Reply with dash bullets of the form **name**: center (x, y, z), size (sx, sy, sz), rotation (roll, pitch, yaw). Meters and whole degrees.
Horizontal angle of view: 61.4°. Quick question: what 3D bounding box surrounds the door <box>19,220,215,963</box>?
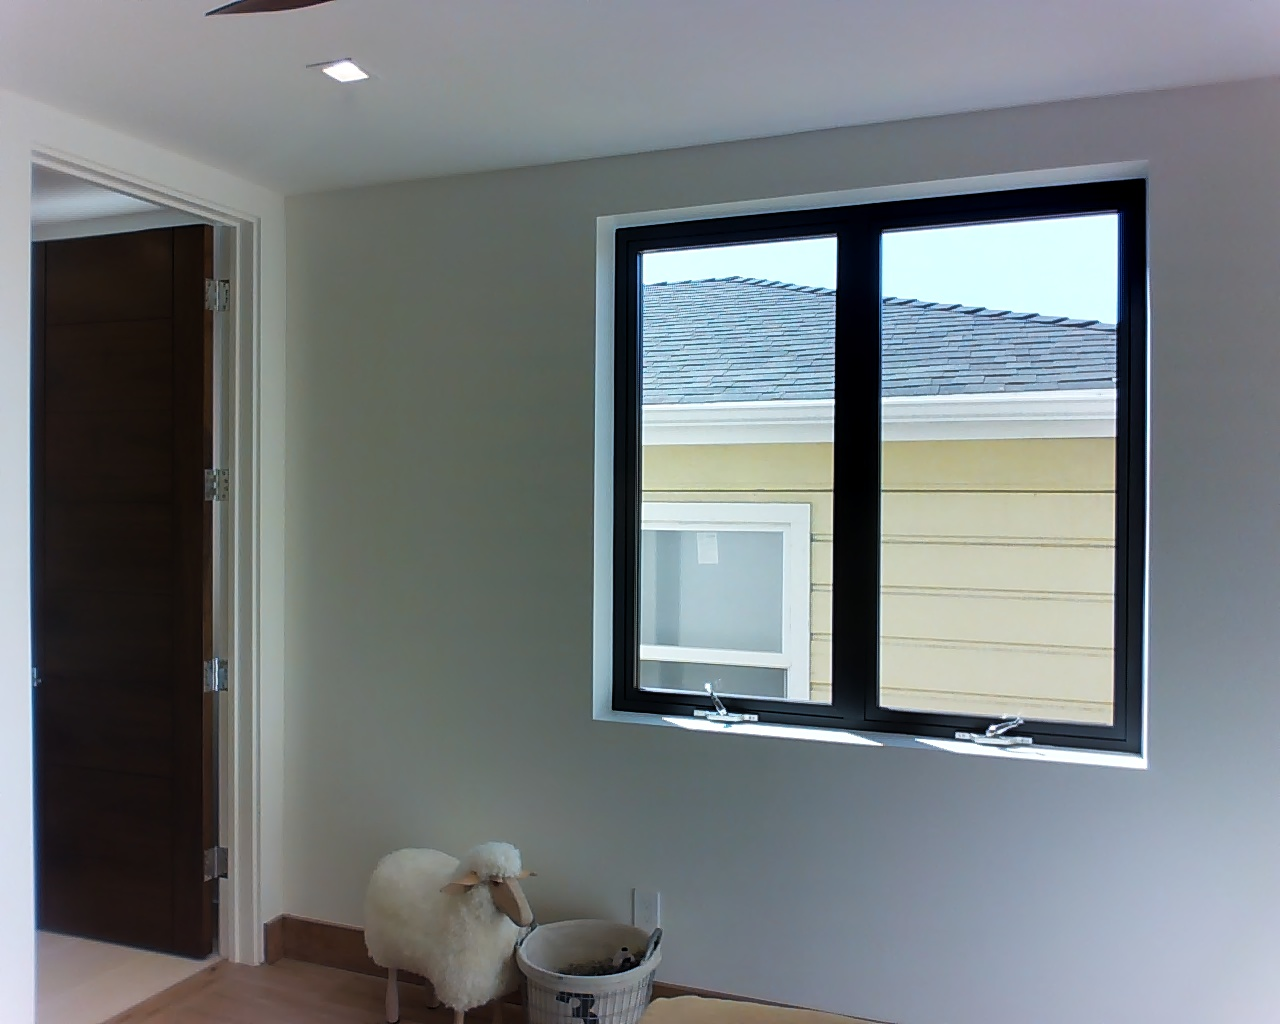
- **door**: center (-1.810, 0.260, 3.700), size (0.820, 2.430, 0.060), rotation (1, 1, 22)
